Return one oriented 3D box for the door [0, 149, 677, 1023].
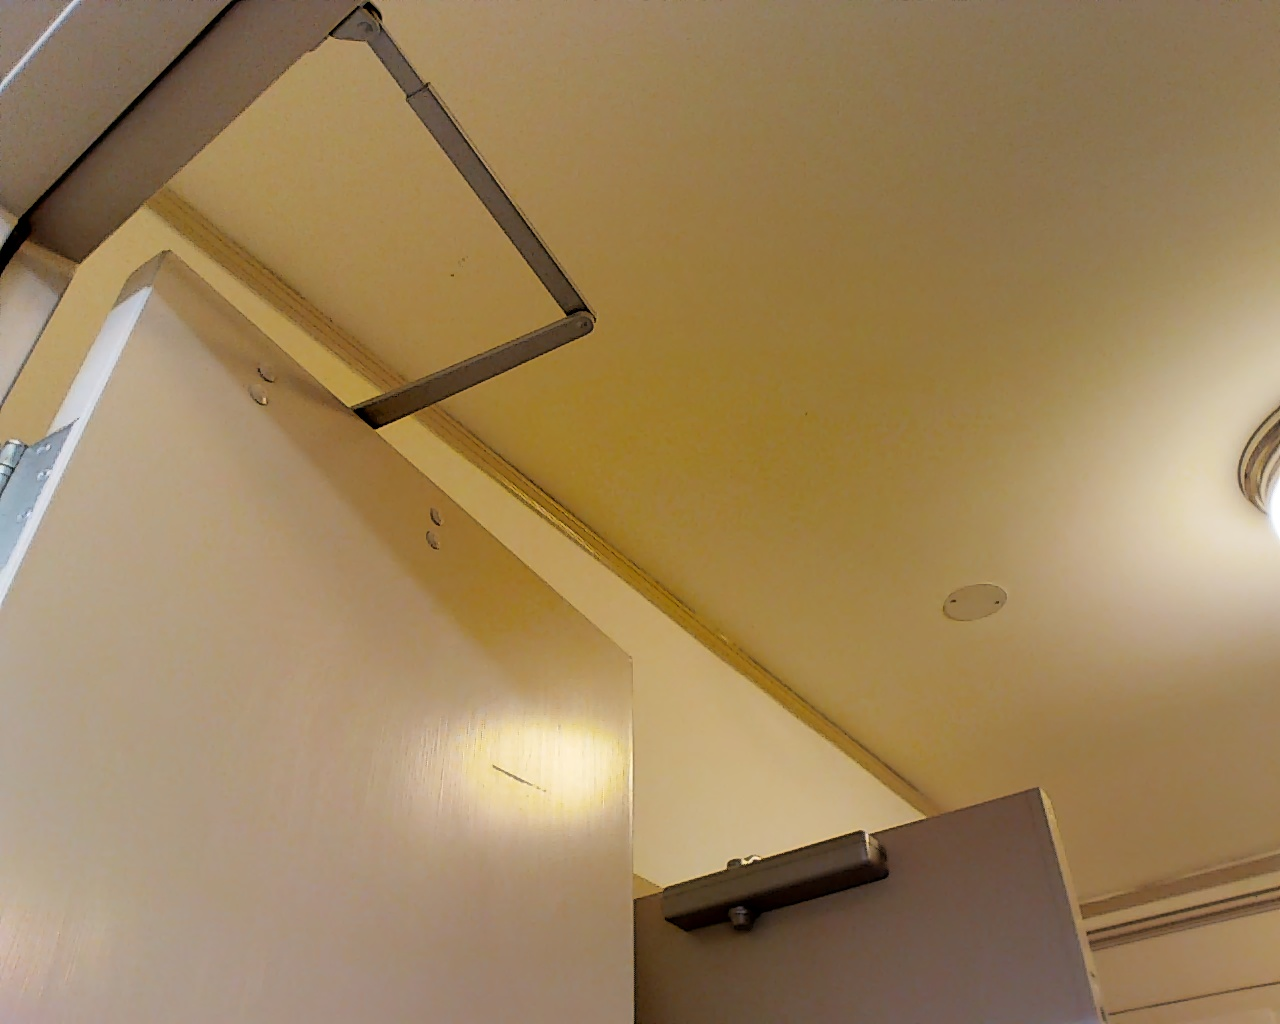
[{"bbox_3d":[-0.170,0.760,0.260,0.030,2.200,0.680,-24,-47,25],"label":"door"}]
